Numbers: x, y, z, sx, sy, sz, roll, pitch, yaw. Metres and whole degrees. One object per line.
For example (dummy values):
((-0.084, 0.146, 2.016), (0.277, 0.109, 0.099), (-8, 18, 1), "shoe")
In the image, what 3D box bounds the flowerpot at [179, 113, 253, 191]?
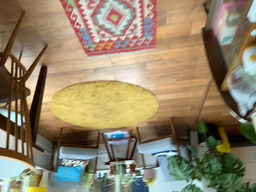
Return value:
((1.170, 0.910, 2.930), (0.650, 1.090, 0.640), (-12, 150, 15), "flowerpot")

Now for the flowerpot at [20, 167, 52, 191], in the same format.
((-1.410, 1.410, 3.270), (0.340, 0.530, 0.310), (-2, 151, -4), "flowerpot")

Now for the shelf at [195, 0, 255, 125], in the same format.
((0.540, -0.400, 0.920), (0.220, 0.800, 0.780), (-7, 151, 6), "shelf")

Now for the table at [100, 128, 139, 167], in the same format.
((-0.140, 0.870, 3.530), (0.540, 0.460, 0.520), (-7, 151, 6), "table")
